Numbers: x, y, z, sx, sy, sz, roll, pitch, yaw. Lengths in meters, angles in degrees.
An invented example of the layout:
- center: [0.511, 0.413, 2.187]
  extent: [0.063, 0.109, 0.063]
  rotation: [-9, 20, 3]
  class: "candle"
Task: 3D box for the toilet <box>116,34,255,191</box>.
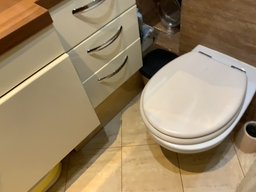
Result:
- center: [0.290, 0.080, 1.010]
  extent: [0.370, 0.430, 0.520]
  rotation: [33, 63, 29]
  class: "toilet"
